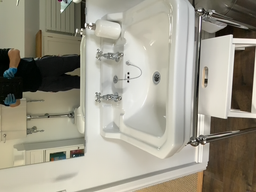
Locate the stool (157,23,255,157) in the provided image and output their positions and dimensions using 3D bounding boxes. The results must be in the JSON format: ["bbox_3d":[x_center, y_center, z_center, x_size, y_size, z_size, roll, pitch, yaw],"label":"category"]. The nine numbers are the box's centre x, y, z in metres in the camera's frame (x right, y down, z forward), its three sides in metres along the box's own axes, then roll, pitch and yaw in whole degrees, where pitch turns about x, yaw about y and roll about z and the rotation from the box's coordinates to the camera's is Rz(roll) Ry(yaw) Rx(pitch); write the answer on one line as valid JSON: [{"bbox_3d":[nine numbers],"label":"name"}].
[{"bbox_3d":[0.560,-0.030,1.160,0.550,0.570,0.490,3,93,58],"label":"stool"}]

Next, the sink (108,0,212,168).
[{"bbox_3d":[0.100,-0.080,0.950,0.490,0.170,0.620,6,95,58],"label":"sink"}]
